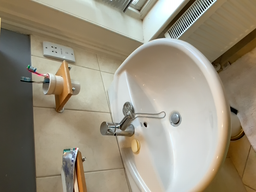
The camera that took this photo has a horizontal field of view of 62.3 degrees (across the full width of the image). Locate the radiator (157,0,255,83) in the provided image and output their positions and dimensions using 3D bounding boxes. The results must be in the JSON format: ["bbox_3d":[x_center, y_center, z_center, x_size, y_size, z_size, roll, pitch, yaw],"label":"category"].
[{"bbox_3d":[0.620,-0.400,1.010,0.830,0.520,0.160,-42,53,39],"label":"radiator"}]
